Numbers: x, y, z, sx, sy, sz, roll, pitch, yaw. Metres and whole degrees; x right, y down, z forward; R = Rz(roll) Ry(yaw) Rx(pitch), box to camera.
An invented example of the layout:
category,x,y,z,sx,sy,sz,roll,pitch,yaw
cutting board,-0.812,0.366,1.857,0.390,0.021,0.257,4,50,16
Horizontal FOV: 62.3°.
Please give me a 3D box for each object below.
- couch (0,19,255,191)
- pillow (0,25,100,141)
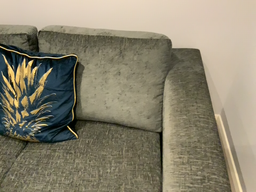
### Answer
category,x,y,z,sx,sy,sz,roll,pitch,yaw
couch,-0.500,0.190,1.060,1.740,0.760,1.010,4,40,5
pillow,-0.460,-0.020,1.020,0.480,0.410,0.160,-22,29,33
